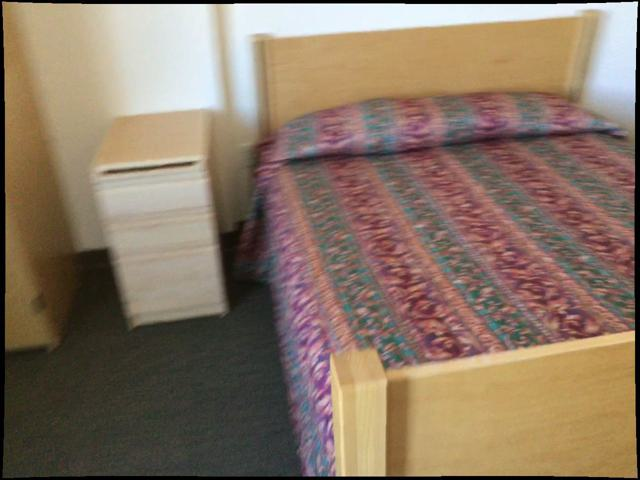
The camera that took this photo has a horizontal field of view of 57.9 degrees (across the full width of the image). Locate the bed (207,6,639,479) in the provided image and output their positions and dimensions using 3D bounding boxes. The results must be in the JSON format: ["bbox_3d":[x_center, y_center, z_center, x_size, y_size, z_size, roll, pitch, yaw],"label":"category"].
[{"bbox_3d":[0.619,-0.020,1.940,1.808,0.981,2.141,-6,32,-6],"label":"bed"}]
